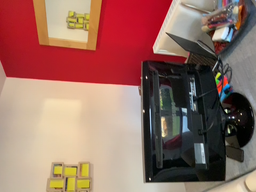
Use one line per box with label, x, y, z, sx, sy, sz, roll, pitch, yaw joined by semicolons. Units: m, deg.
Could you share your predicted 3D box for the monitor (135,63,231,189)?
monitor;0.310;0.140;1.100;0.040;0.460;0.560;123;159;-70
